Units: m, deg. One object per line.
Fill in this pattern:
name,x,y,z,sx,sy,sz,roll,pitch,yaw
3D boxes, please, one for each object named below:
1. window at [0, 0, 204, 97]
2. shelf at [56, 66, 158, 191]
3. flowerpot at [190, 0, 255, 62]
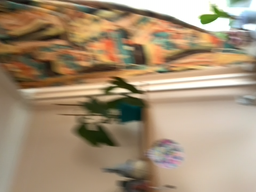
window,-0.270,-0.420,1.240,1.100,1.320,0.160,78,-171,-55
shelf,-0.090,0.370,1.260,0.350,0.490,1.080,78,-171,-56
flowerpot,0.700,-0.530,1.460,0.520,0.430,0.270,77,-170,-58
